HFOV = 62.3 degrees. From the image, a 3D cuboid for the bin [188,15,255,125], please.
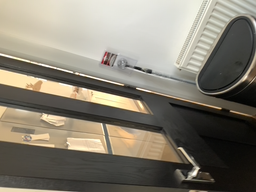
[{"bbox_3d":[0.760,-0.090,1.140,0.300,0.670,0.430,-120,47,-61],"label":"bin"}]
